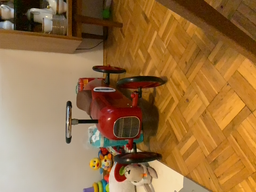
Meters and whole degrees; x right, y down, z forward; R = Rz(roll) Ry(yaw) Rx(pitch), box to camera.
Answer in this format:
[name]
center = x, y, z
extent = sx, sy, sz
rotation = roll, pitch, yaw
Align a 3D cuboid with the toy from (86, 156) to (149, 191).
[toy]
center = -0.110, 0.800, 1.400
extent = 0.700, 0.200, 0.620
rotation = 177, 93, -68
